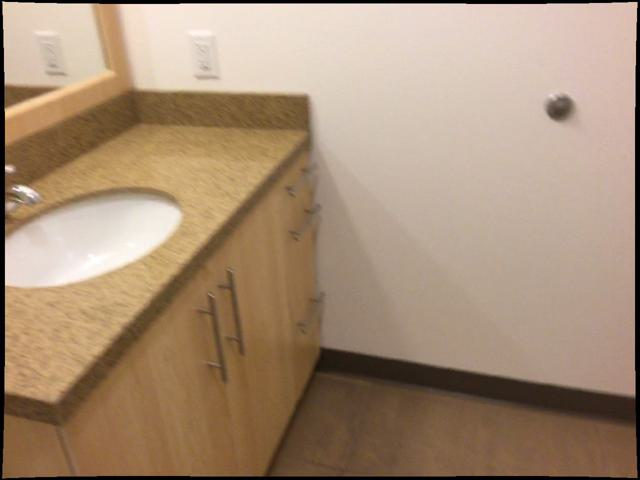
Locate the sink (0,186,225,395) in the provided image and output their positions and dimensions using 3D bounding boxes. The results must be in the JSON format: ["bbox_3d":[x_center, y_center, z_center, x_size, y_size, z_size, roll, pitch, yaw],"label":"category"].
[{"bbox_3d":[-0.469,0.070,1.200,0.359,0.180,0.450,5,30,16],"label":"sink"}]
